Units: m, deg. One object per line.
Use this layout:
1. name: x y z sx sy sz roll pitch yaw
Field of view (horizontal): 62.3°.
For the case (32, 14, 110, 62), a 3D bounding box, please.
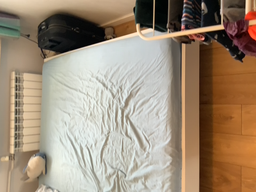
1. case: -0.560 -0.540 2.130 0.500 0.570 0.250 -1 87 42
